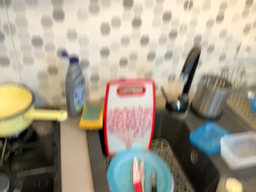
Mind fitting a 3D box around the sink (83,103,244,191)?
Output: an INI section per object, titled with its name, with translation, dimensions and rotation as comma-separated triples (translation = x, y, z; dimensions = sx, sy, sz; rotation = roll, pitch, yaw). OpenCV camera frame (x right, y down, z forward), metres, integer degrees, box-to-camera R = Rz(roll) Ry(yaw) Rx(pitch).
[sink]
translation = 0.070, 0.230, 0.730
dimensions = 0.400, 0.150, 0.440
rotation = -4, 35, -15
